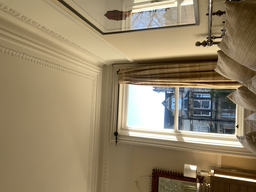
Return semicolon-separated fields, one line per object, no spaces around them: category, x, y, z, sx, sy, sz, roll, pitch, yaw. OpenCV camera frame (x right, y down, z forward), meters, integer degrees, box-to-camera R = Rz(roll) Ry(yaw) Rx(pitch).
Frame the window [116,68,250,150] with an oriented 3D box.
window;0.850;0.160;3.610;0.360;2.070;1.200;7;-95;-70

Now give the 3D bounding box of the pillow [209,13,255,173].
pillow;1.030;-0.010;1.850;0.670;0.560;1.160;11;-99;-70
